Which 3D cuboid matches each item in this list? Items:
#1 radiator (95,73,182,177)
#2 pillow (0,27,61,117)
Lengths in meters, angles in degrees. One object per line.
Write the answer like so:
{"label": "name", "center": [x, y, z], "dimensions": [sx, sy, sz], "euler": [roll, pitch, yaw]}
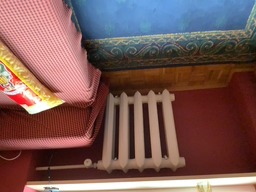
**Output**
{"label": "radiator", "center": [0.070, 0.200, 1.590], "dimensions": [0.530, 0.710, 0.230], "euler": [-5, 146, 6]}
{"label": "pillow", "center": [-0.550, -0.110, 0.960], "dimensions": [0.190, 0.110, 0.640], "euler": [-7, 146, 10]}
